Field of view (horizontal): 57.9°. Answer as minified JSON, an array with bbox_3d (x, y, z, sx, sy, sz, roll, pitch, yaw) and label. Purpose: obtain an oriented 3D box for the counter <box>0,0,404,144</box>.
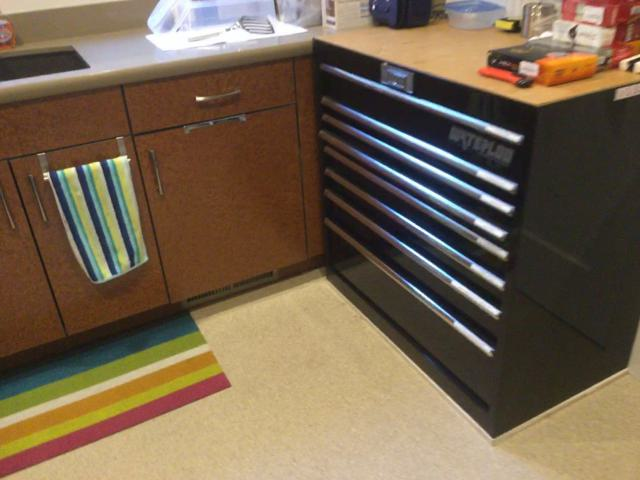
[{"bbox_3d":[-0.950,-0.470,1.440,2.180,0.250,0.910,-17,32,-25],"label":"counter"}]
